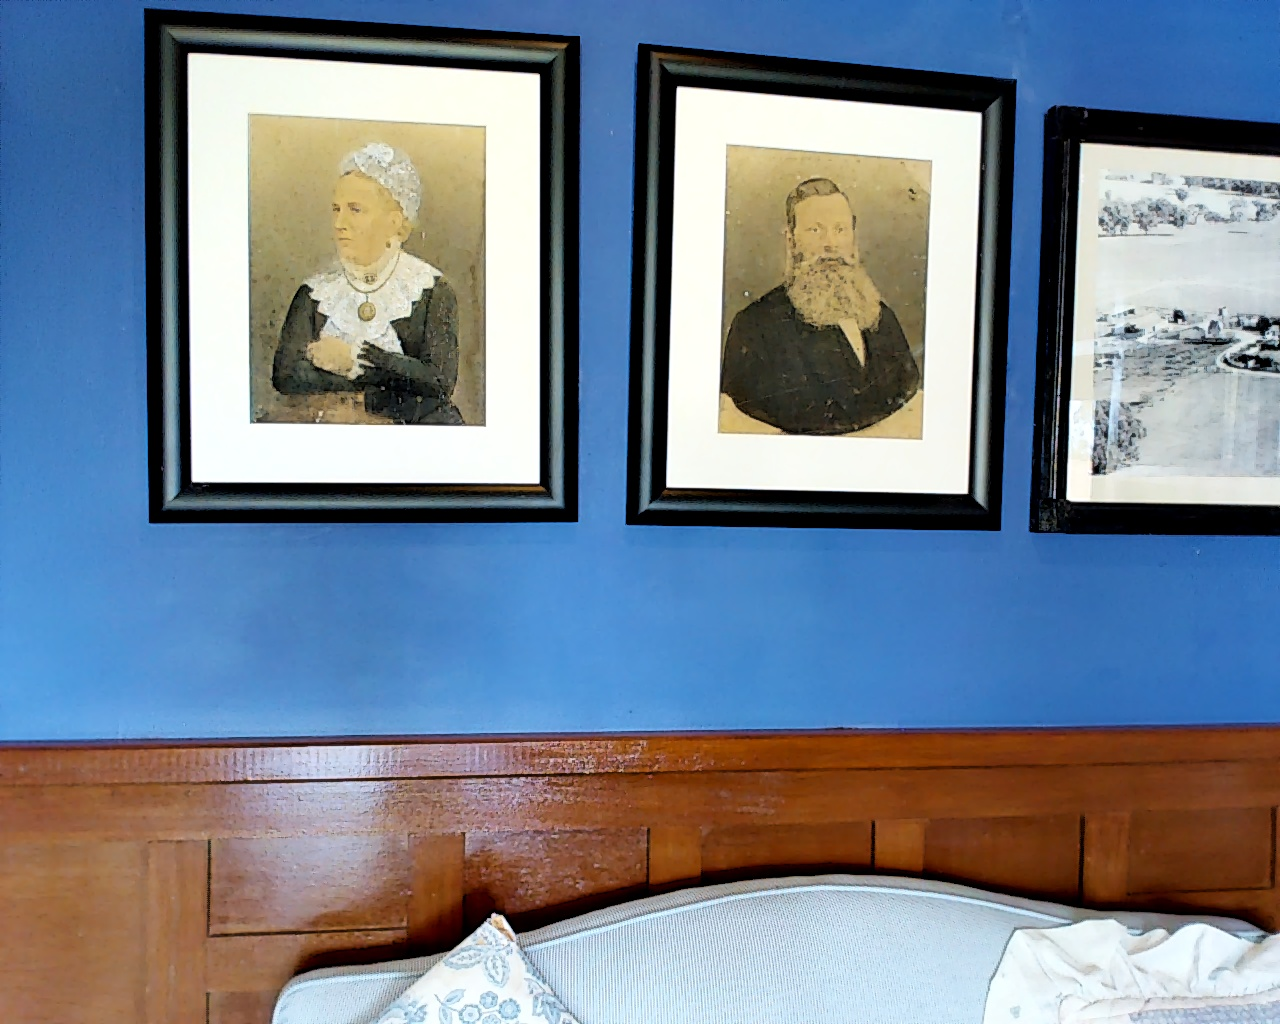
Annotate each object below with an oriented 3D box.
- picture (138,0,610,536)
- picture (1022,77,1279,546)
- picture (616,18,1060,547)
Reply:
[{"bbox_3d":[-0.300,-0.280,1.250,0.520,0.610,0.040,1,1,-9],"label":"picture"},{"bbox_3d":[0.910,-0.250,1.450,0.810,0.590,0.040,1,1,-9],"label":"picture"},{"bbox_3d":[0.250,-0.270,1.340,0.550,0.620,0.040,1,1,-9],"label":"picture"}]
